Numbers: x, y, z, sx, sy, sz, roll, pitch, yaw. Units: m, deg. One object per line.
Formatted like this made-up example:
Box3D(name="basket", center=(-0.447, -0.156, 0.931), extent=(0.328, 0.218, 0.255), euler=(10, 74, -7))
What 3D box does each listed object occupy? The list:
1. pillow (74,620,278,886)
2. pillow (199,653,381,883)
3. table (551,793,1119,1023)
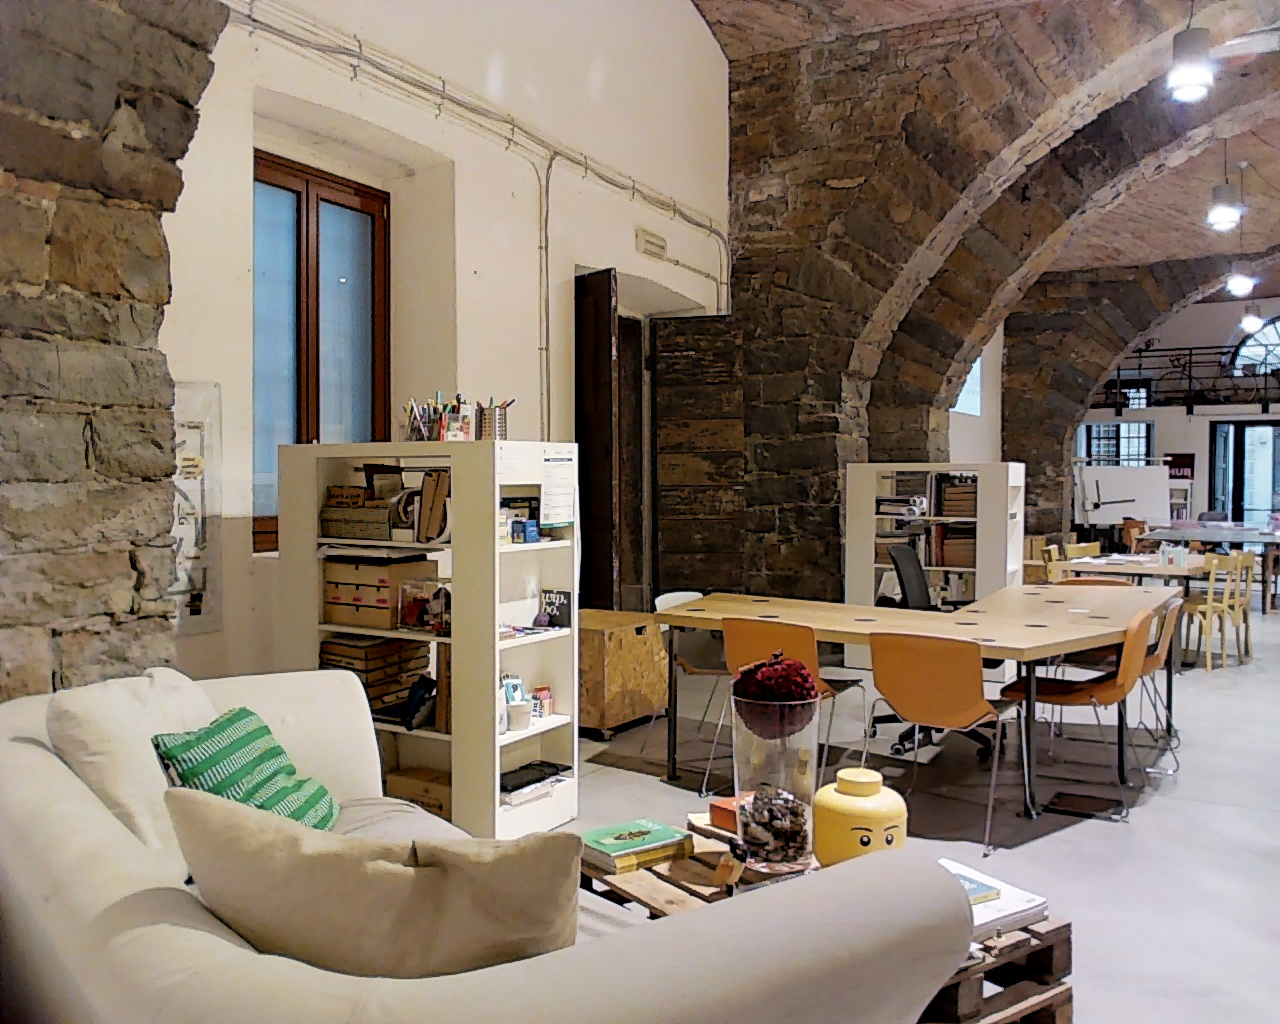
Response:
Box3D(name="pillow", center=(-1.080, 0.590, 2.550), extent=(0.200, 0.500, 0.540), euler=(-12, -23, 1))
Box3D(name="pillow", center=(-0.850, 0.640, 2.640), extent=(0.110, 0.420, 0.520), euler=(-26, -31, -2))
Box3D(name="table", center=(0.440, 1.090, 2.780), extent=(0.810, 0.310, 1.210), euler=(-1, 2, -37))
